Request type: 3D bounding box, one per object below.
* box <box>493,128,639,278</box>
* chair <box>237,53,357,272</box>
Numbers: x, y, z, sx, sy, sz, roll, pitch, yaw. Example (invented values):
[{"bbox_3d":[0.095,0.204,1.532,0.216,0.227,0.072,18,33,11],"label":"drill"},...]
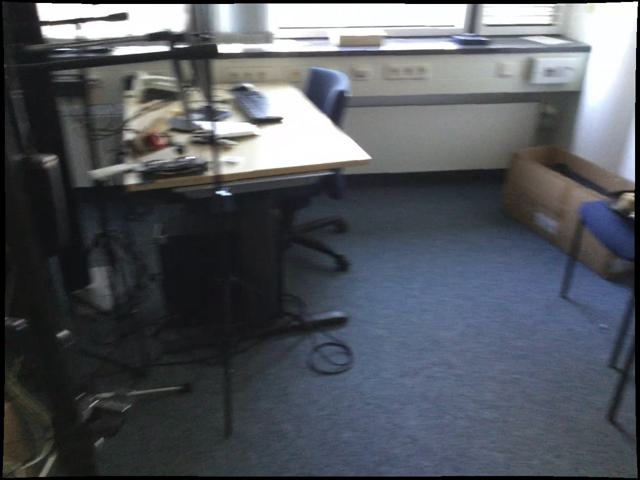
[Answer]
[{"bbox_3d":[1.259,-0.220,2.820,0.460,0.360,0.860,-4,31,-7],"label":"box"},{"bbox_3d":[-0.120,-0.370,2.650,0.450,0.811,0.580,-4,31,-7],"label":"chair"}]
